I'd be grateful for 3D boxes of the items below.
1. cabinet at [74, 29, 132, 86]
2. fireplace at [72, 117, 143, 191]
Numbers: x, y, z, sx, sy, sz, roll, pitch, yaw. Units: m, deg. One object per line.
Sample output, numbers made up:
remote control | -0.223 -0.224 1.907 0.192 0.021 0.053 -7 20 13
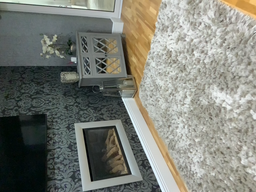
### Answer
cabinet | -0.430 -0.620 3.470 0.340 0.800 0.840 129 135 -61
fireplace | -0.300 0.730 2.540 0.920 0.620 0.380 -115 30 -47
